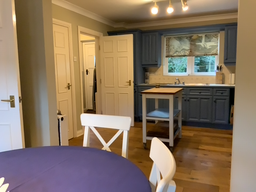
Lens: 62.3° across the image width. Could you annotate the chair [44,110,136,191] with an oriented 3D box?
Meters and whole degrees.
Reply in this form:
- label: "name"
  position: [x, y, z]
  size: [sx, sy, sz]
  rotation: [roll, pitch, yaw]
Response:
- label: "chair"
  position: [-0.210, 0.590, 1.420]
  size: [0.400, 0.900, 0.450]
  rotation: [2, 8, 21]
